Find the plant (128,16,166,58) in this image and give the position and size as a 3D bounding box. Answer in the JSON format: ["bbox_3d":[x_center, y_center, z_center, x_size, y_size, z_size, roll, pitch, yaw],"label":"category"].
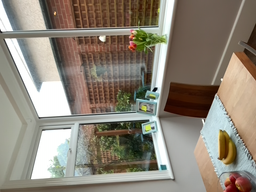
[{"bbox_3d":[0.180,-0.630,2.250,0.260,0.330,0.360,91,174,-47],"label":"plant"}]
